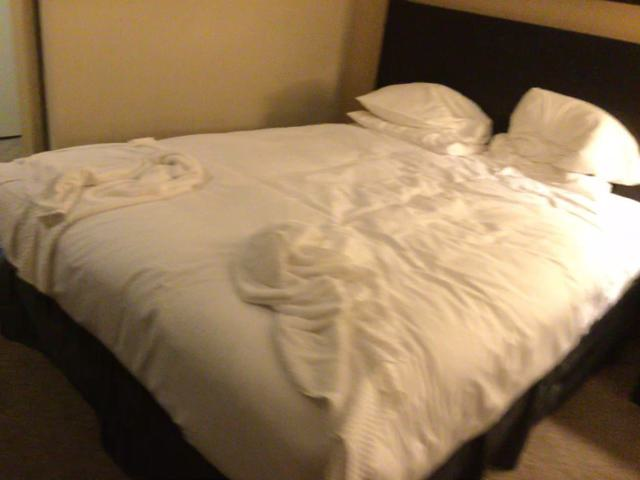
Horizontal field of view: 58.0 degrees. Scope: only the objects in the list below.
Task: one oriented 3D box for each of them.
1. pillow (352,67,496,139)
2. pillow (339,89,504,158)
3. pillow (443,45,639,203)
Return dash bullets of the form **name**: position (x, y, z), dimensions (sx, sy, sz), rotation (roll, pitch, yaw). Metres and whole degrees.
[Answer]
- **pillow**: position (0.480, -0.650, 2.700), dimensions (0.490, 0.210, 0.410), rotation (27, 28, 38)
- **pillow**: position (0.470, -0.570, 2.730), dimensions (0.600, 0.170, 0.450), rotation (27, 28, 38)
- **pillow**: position (0.970, -0.510, 2.400), dimensions (0.780, 0.450, 0.300), rotation (27, 28, 38)
